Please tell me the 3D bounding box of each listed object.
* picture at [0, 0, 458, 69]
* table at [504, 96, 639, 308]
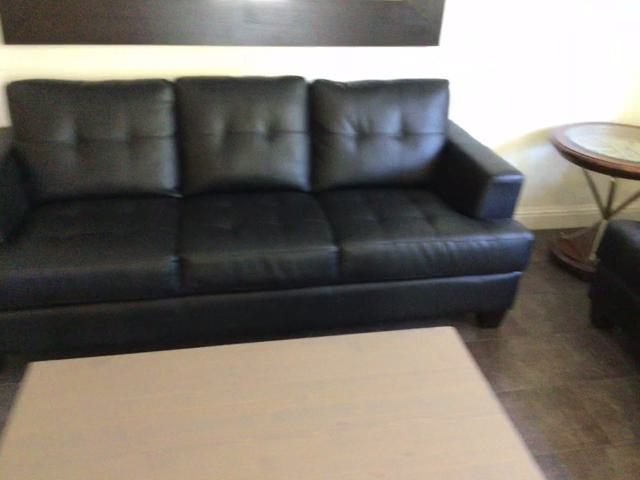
[{"bbox_3d":[-0.400,-0.930,2.500,1.990,0.280,0.160,-1,28,-9],"label":"picture"},{"bbox_3d":[1.420,-0.210,2.710,0.690,0.720,0.760,-1,28,-9],"label":"table"}]
